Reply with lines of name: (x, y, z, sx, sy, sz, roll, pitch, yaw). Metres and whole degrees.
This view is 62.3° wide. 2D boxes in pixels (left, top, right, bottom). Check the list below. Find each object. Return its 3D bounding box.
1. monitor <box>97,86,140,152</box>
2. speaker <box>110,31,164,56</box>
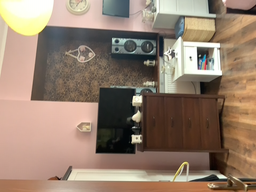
monitor: (-0.130, 0.330, 3.090, 0.060, 0.600, 0.940, 113, 158, -75)
speaker: (0.150, -0.950, 3.900, 0.290, 0.940, 0.330, 179, 93, -85)
